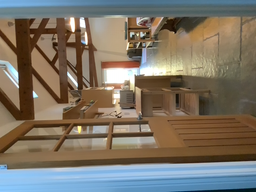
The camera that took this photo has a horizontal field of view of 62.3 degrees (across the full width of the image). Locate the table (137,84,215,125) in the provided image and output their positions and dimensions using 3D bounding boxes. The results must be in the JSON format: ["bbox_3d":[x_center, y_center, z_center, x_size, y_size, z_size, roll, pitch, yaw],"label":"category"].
[{"bbox_3d":[0.620,0.070,3.220,1.240,0.850,0.420,-113,21,-84],"label":"table"}]
